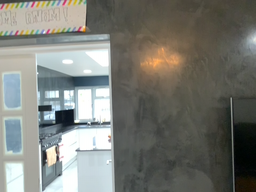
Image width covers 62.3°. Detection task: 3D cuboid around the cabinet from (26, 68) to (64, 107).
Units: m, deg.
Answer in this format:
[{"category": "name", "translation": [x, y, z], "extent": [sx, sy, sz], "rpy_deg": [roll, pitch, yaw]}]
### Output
[{"category": "cabinet", "translation": [-2.000, -0.180, 5.220], "extent": [0.480, 0.830, 1.000], "rpy_deg": [-2, -1, 5]}]
